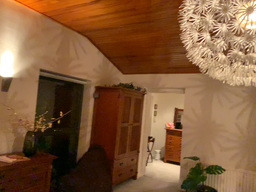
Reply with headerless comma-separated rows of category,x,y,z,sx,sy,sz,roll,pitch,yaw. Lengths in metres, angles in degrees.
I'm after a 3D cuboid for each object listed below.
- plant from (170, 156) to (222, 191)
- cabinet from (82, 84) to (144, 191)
plant,1.170,1.480,3.610,0.690,0.690,0.680,3,-3,29
cabinet,-0.270,0.790,4.500,0.720,1.950,1.040,3,-3,28
